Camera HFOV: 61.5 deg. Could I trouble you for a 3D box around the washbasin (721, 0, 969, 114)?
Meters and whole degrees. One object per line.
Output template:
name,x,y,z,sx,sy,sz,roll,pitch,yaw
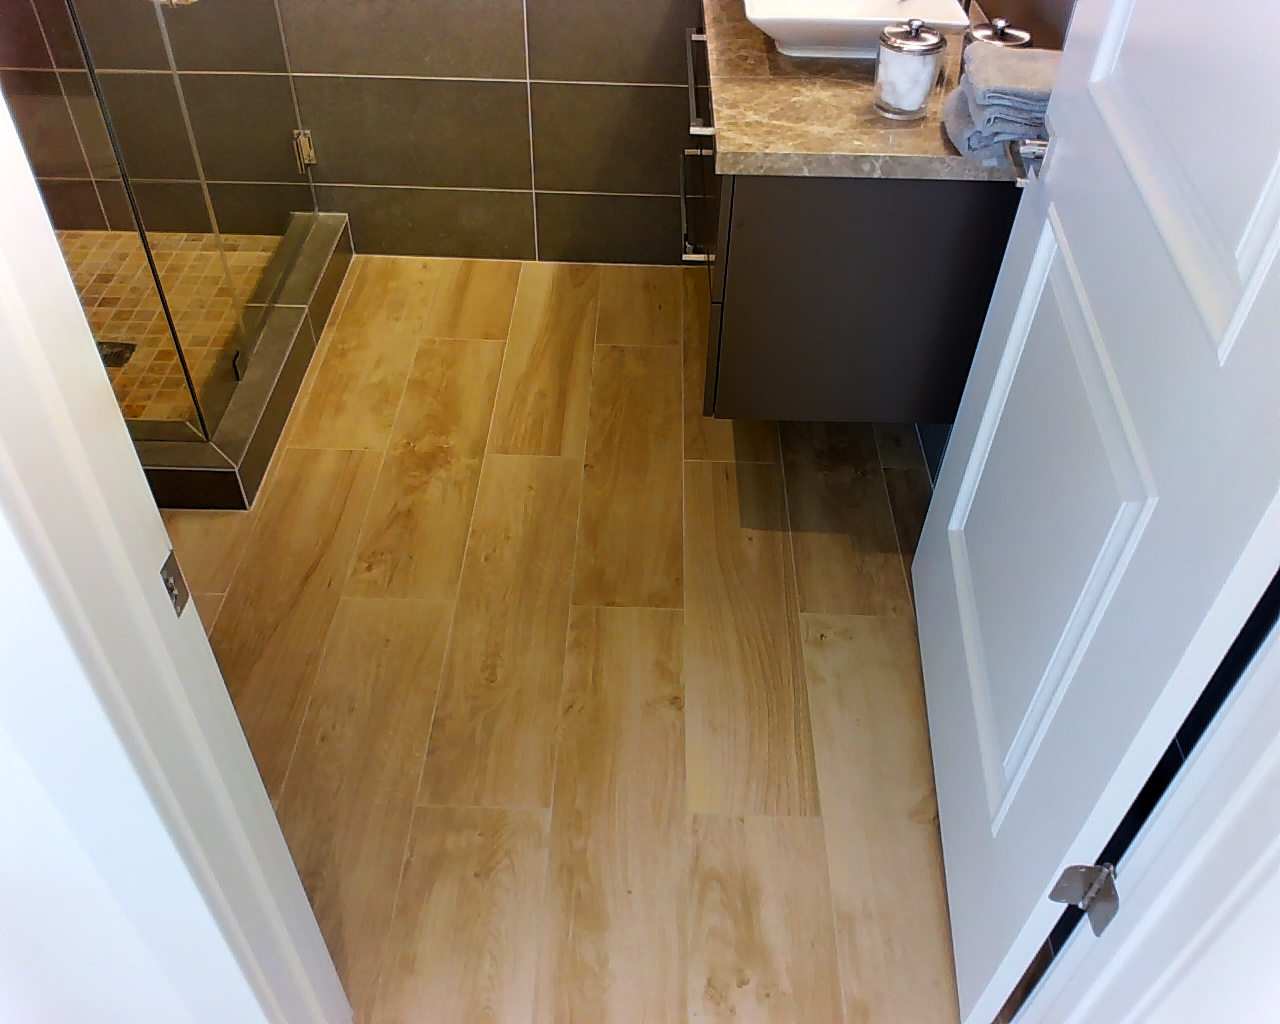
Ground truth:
washbasin,0.360,-0.960,2.050,0.380,0.150,0.580,2,44,0
